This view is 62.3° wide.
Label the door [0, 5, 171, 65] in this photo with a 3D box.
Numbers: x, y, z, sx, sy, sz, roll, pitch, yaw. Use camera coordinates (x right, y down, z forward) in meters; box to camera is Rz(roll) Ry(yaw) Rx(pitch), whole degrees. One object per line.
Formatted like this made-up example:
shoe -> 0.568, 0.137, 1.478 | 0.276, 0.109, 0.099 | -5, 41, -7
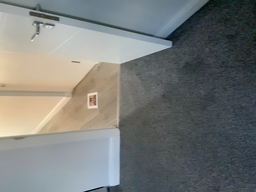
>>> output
door -> -0.660, -0.390, 1.430 | 0.760, 1.950, 0.040 | -5, 86, 53
